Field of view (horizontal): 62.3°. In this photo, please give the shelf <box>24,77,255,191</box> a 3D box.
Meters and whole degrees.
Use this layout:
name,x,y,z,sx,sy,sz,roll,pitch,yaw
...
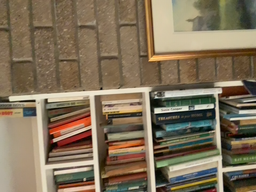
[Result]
name,x,y,z,sx,sy,sz,roll,pitch,yaw
shelf,0.180,0.550,1.020,0.230,1.120,1.230,-157,64,-82
